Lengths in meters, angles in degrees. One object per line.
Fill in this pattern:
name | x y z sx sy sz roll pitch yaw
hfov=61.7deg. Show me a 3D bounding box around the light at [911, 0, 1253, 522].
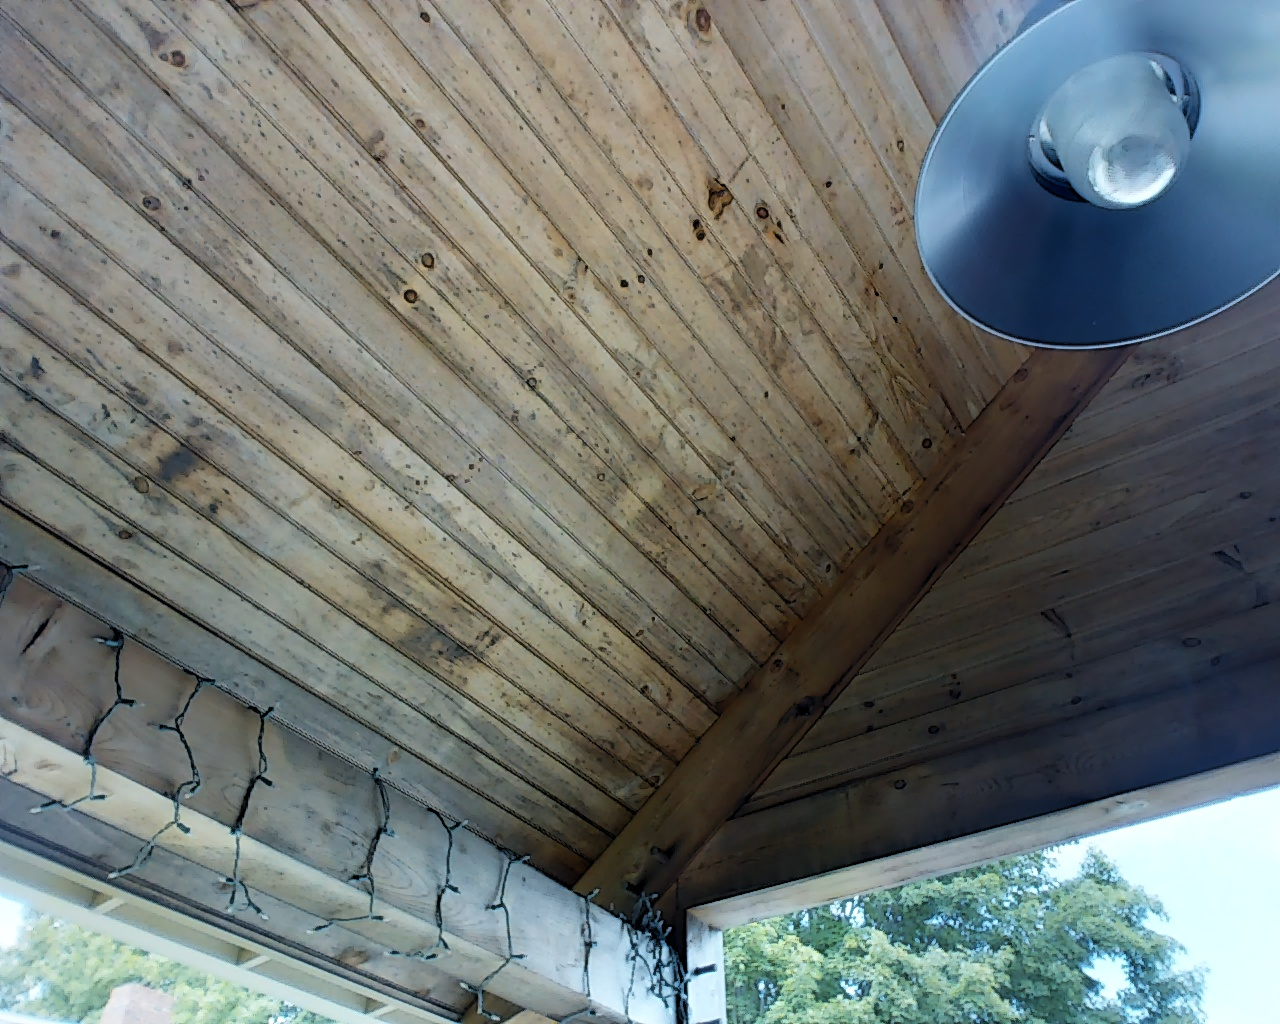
light | 0.470 -0.340 1.050 0.130 0.520 0.470 -4 -37 39
